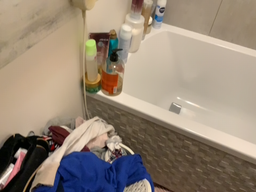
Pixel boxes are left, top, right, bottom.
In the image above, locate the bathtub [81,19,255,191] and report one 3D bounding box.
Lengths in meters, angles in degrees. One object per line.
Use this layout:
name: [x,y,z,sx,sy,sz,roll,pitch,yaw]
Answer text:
bathtub: [0.560,0.190,1.130,1.380,0.590,0.700,21,48,13]
